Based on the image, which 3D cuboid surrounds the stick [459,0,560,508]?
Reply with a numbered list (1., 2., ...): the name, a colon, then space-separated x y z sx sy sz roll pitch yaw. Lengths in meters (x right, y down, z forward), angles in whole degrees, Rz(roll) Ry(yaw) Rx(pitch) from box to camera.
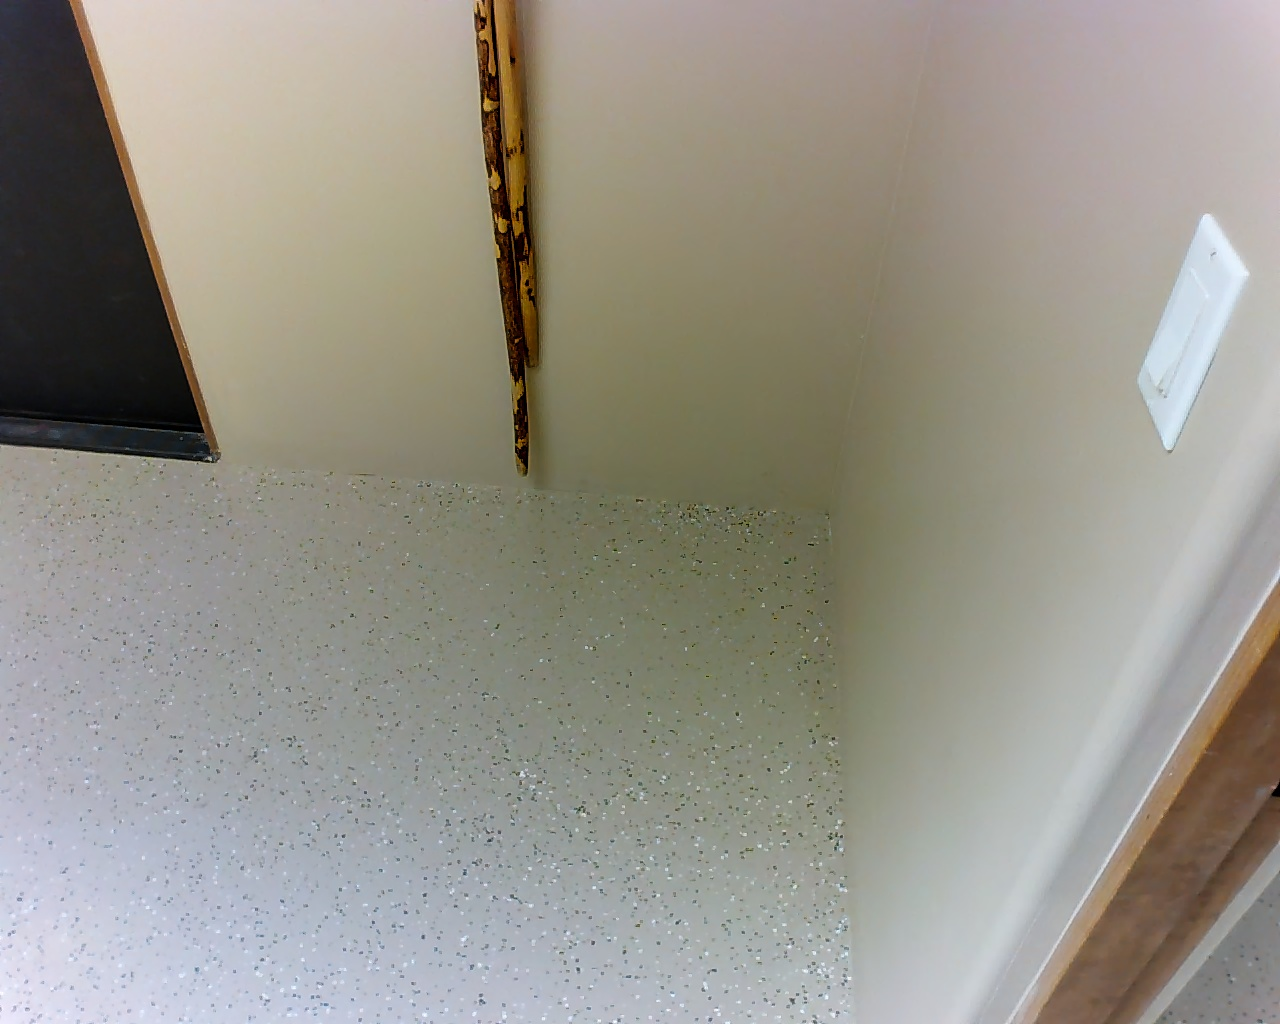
1. stick: -0.200 -0.630 1.620 0.110 1.600 0.070 5 42 3
